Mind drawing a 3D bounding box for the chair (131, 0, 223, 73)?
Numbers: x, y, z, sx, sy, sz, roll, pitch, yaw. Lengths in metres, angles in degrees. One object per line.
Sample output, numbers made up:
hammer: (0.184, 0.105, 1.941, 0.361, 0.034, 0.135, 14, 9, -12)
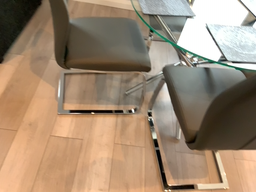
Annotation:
chair: (0.340, -0.710, 1.530, 0.430, 1.010, 0.490, 3, 51, -9)

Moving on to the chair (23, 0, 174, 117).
chair: (-0.170, -0.360, 1.140, 0.560, 1.010, 0.440, -1, 51, -12)

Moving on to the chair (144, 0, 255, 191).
chair: (0.430, 0.010, 0.960, 0.440, 1.000, 0.570, 2, 51, -10)
